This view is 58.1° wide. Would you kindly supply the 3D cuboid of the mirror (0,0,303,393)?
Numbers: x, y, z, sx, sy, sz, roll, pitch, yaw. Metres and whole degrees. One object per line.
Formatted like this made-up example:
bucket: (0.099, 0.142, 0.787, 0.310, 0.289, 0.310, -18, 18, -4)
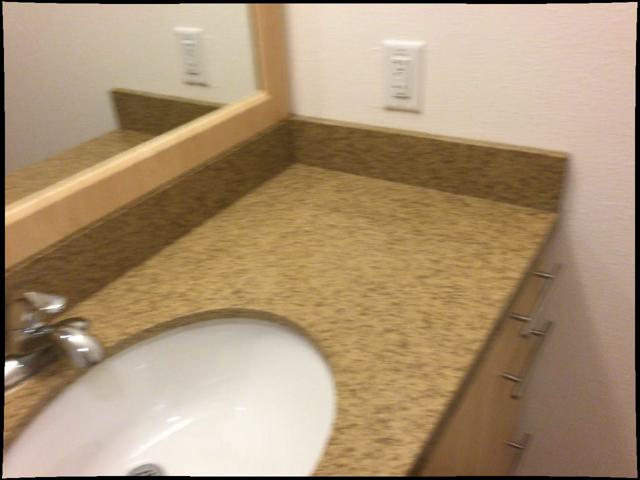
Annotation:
mirror: (-0.379, -0.090, 0.790, 0.060, 0.481, 1.110, 16, 38, 29)
